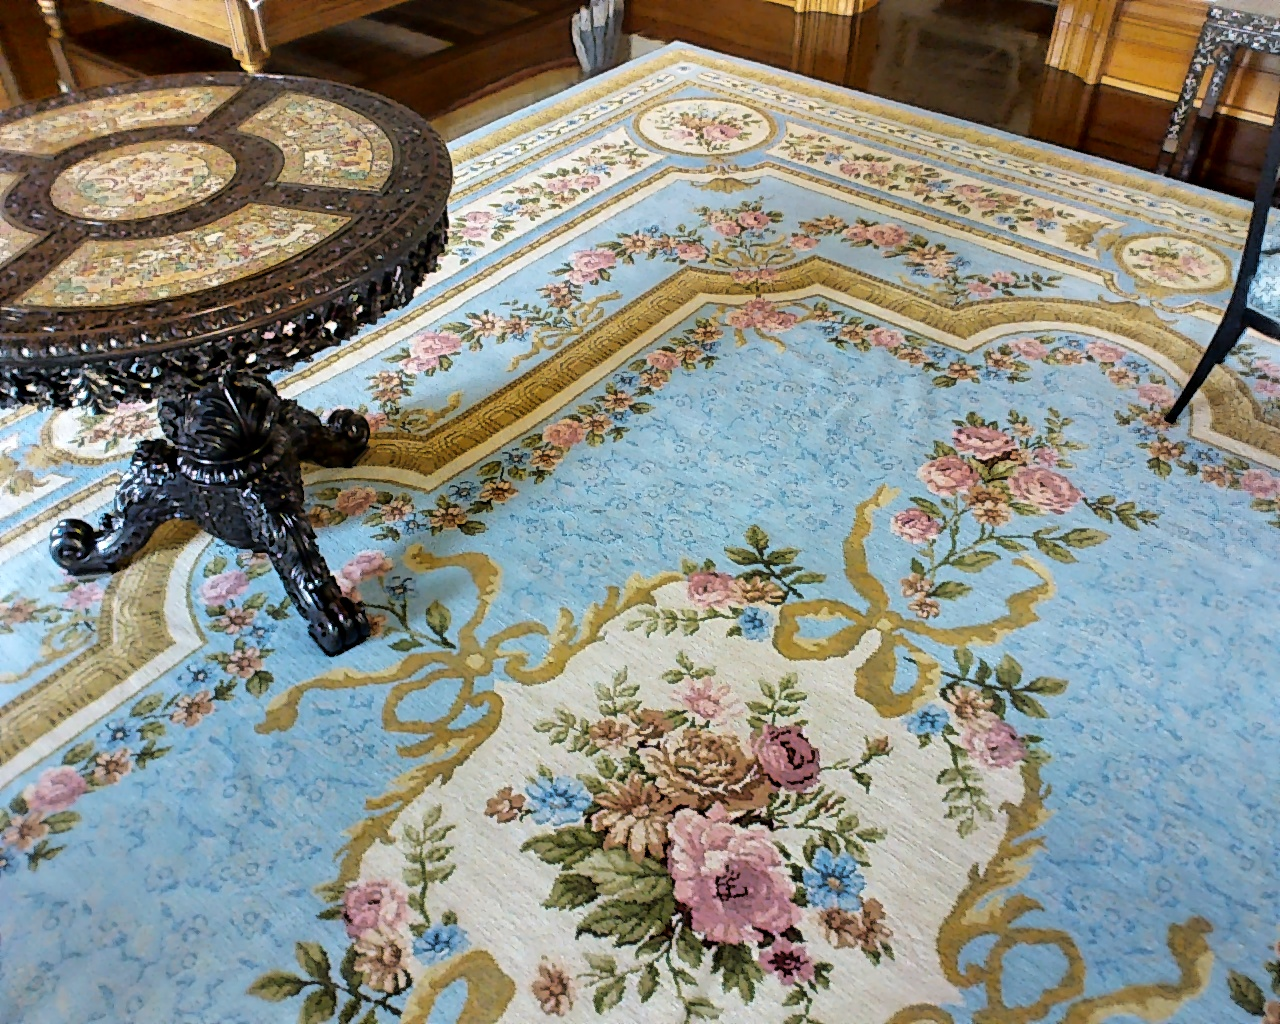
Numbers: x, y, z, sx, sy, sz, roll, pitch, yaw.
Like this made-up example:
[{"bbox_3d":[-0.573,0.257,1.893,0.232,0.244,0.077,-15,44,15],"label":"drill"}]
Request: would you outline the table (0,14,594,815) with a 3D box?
[{"bbox_3d":[-0.810,-0.280,2.010,1.020,0.800,1.000,29,49,28],"label":"table"}]
